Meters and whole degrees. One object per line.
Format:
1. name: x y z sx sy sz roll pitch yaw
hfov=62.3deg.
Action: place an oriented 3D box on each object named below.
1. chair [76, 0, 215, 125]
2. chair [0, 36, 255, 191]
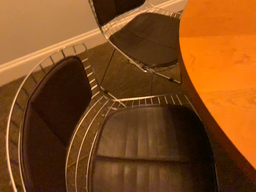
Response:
1. chair: 0.080 -0.300 1.260 0.550 0.720 0.410 29 55 19
2. chair: 0.000 0.220 0.810 0.590 0.760 0.380 2 51 -1
